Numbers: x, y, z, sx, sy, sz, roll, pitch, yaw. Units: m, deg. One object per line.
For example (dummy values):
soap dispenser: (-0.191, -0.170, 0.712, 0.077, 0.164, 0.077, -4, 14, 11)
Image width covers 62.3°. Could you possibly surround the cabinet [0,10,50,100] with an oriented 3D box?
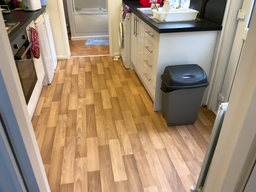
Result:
cabinet: (-1.380, -0.480, 2.520, 0.650, 0.950, 0.430, -5, 31, -9)
